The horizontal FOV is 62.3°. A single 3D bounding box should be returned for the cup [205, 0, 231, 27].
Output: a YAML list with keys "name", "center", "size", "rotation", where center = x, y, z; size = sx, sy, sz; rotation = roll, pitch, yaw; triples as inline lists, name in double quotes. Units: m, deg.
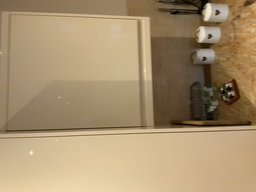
- name: "cup"
  center: [0.550, -0.510, 1.300]
  size: [0.110, 0.100, 0.140]
  rotation: [-150, 59, -81]

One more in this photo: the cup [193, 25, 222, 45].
- name: "cup"
  center: [0.530, -0.410, 1.420]
  size: [0.150, 0.110, 0.120]
  rotation: [-116, 27, -72]
